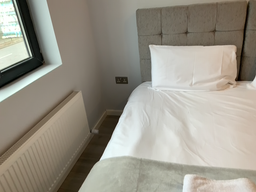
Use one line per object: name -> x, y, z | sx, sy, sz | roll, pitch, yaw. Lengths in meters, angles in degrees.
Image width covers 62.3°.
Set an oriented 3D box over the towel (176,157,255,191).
towel -> 0.360, 0.430, 0.830 | 0.340, 0.090, 0.410 | 1, 27, 14
